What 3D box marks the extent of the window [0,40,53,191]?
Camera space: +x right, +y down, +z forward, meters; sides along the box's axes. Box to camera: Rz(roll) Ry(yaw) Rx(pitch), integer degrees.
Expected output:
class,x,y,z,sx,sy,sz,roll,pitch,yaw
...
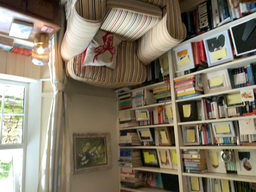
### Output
class,x,y,z,sx,sy,sz,roll,pitch,yaw
window,-1.440,0.380,2.080,1.260,1.900,0.330,8,165,-43

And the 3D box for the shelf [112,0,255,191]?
class,x,y,z,sx,sy,sz,roll,pitch,yaw
shelf,0.540,0.140,2.300,0.270,2.310,1.850,8,165,-43
